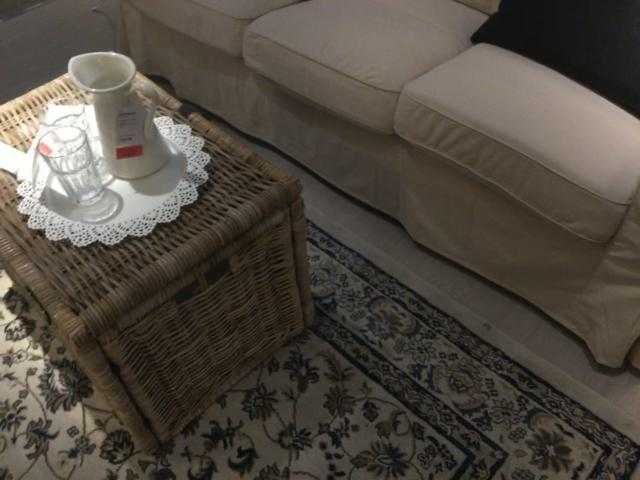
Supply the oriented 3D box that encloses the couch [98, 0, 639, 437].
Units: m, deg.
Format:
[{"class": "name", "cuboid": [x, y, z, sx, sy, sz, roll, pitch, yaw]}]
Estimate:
[{"class": "couch", "cuboid": [0.310, -0.750, 1.680, 1.100, 1.000, 2.140, -36, 55, -26]}]
